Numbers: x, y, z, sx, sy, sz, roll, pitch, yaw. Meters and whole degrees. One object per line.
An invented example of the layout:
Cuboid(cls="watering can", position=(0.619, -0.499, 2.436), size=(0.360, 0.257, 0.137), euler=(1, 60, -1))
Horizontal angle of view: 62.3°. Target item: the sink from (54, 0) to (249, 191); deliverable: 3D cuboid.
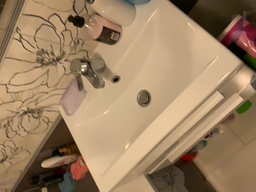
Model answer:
Cuboid(cls="sink", position=(0.000, 0.000, 0.760), size=(0.640, 0.130, 0.400), euler=(-50, 60, 26))
